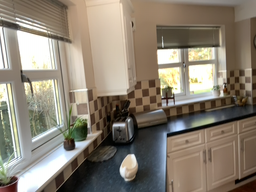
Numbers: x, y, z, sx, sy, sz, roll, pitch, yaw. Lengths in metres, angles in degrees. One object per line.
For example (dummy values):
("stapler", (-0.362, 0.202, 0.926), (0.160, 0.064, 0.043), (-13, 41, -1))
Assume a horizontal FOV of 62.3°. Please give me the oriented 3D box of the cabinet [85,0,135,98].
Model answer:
("cabinet", (-0.140, -0.470, 2.090), (0.270, 0.880, 0.620), (-4, 7, 11))
